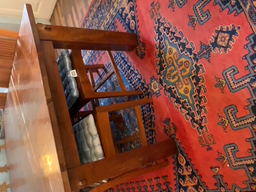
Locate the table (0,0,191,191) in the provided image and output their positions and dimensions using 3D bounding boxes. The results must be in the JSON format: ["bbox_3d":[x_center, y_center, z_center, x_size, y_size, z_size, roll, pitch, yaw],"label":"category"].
[{"bbox_3d":[-0.580,0.300,1.920,1.920,0.770,1.040,-34,68,50],"label":"table"}]
